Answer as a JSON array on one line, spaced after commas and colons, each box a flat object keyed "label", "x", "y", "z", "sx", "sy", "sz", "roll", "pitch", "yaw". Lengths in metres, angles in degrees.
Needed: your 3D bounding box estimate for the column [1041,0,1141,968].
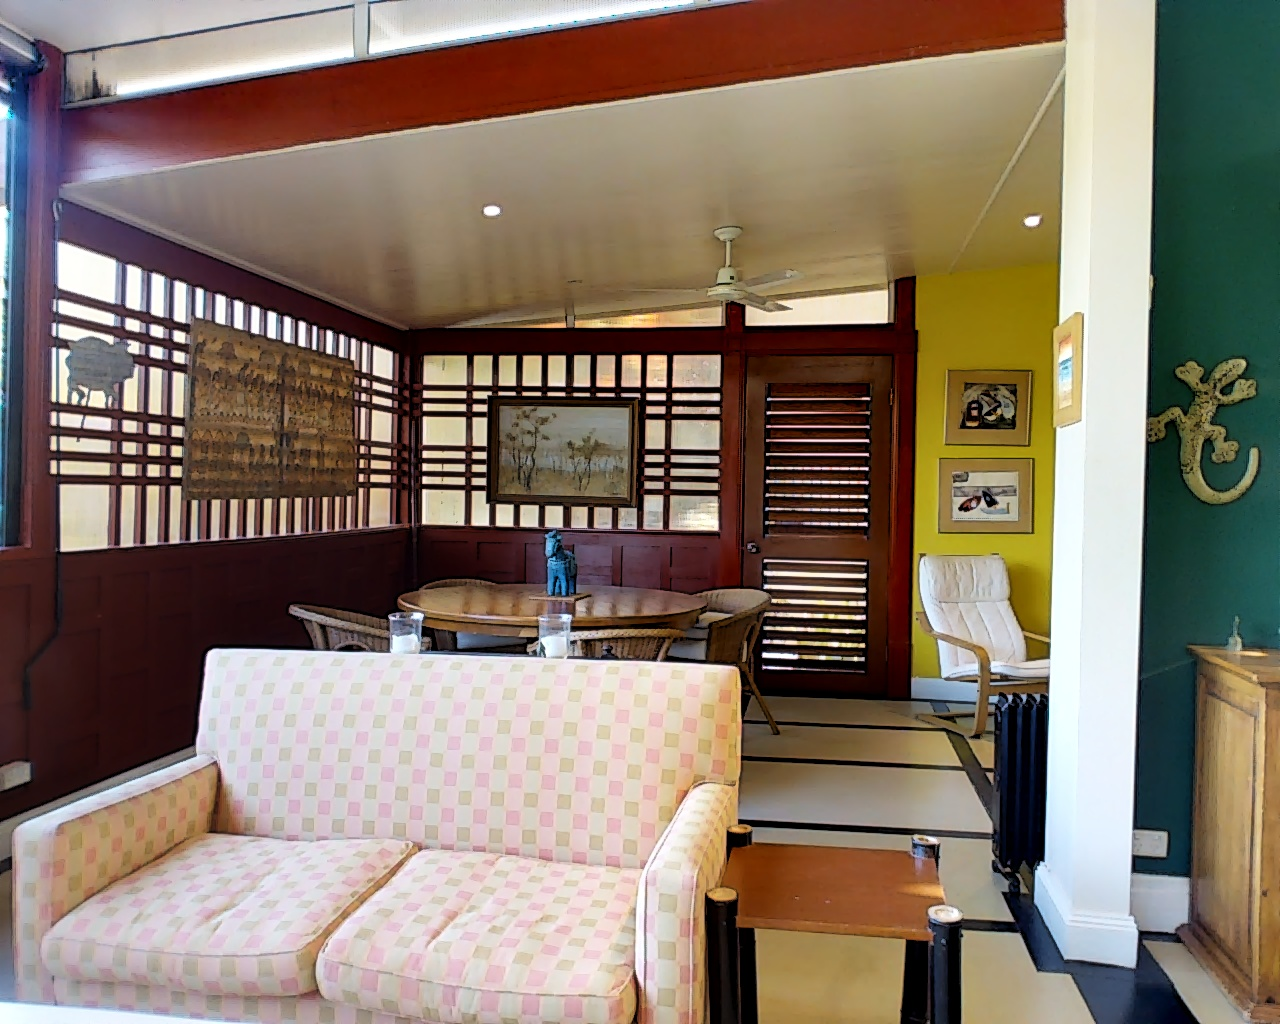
[{"label": "column", "x": 1.270, "y": -0.330, "z": 3.040, "sx": 0.140, "sy": 3.091, "sz": 0.360, "roll": 1, "pitch": 1, "yaw": 10}]
